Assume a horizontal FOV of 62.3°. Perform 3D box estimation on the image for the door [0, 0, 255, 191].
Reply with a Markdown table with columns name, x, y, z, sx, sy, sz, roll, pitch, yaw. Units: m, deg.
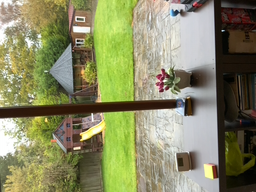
| name | x | y | z | sx | sy | sz | roll | pitch | yaw |
| --- | --- | --- | --- | --- | --- | --- | --- | --- | --- |
| door | 0.170 | 1.080 | 1.660 | 0.090 | 1.990 | 4.320 | -159 | 68 | -73 |

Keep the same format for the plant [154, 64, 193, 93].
| name | x | y | z | sx | sy | sz | roll | pitch | yaw |
| --- | --- | --- | --- | --- | --- | --- | --- | --- | --- |
| plant | 0.320 | -0.130 | 1.540 | 0.260 | 0.180 | 0.190 | -157 | 66 | -73 |
